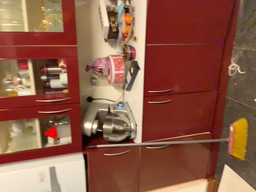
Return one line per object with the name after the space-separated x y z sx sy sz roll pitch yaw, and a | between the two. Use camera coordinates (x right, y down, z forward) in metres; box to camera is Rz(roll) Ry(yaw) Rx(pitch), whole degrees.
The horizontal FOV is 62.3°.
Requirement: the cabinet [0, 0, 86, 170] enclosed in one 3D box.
-0.790 -0.350 1.410 0.410 0.890 1.620 -140 48 -64 | cabinet

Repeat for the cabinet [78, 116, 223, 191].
0.220 0.580 2.070 0.400 1.310 0.510 -140 48 -64 | cabinet
